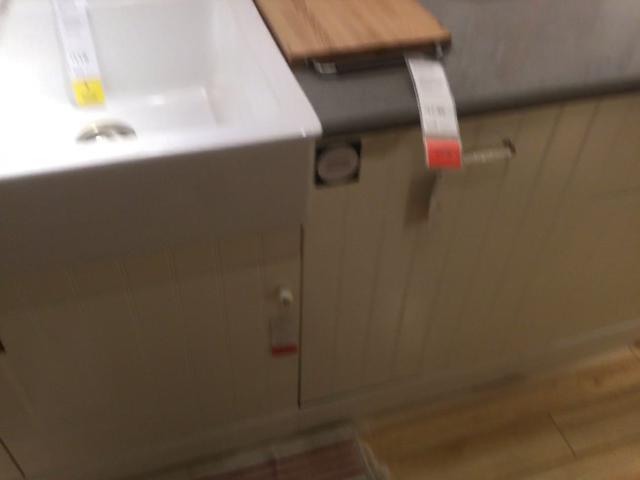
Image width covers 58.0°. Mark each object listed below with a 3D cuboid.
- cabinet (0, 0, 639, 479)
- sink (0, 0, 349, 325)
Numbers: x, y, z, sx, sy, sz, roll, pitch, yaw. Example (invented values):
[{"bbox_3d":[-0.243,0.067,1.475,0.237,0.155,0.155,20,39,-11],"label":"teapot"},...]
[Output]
[{"bbox_3d":[0.140,-0.080,1.400,2.980,0.870,0.720,-12,44,-13],"label":"cabinet"},{"bbox_3d":[-0.380,-0.250,1.000,0.660,0.330,0.660,-12,44,-13],"label":"sink"}]
